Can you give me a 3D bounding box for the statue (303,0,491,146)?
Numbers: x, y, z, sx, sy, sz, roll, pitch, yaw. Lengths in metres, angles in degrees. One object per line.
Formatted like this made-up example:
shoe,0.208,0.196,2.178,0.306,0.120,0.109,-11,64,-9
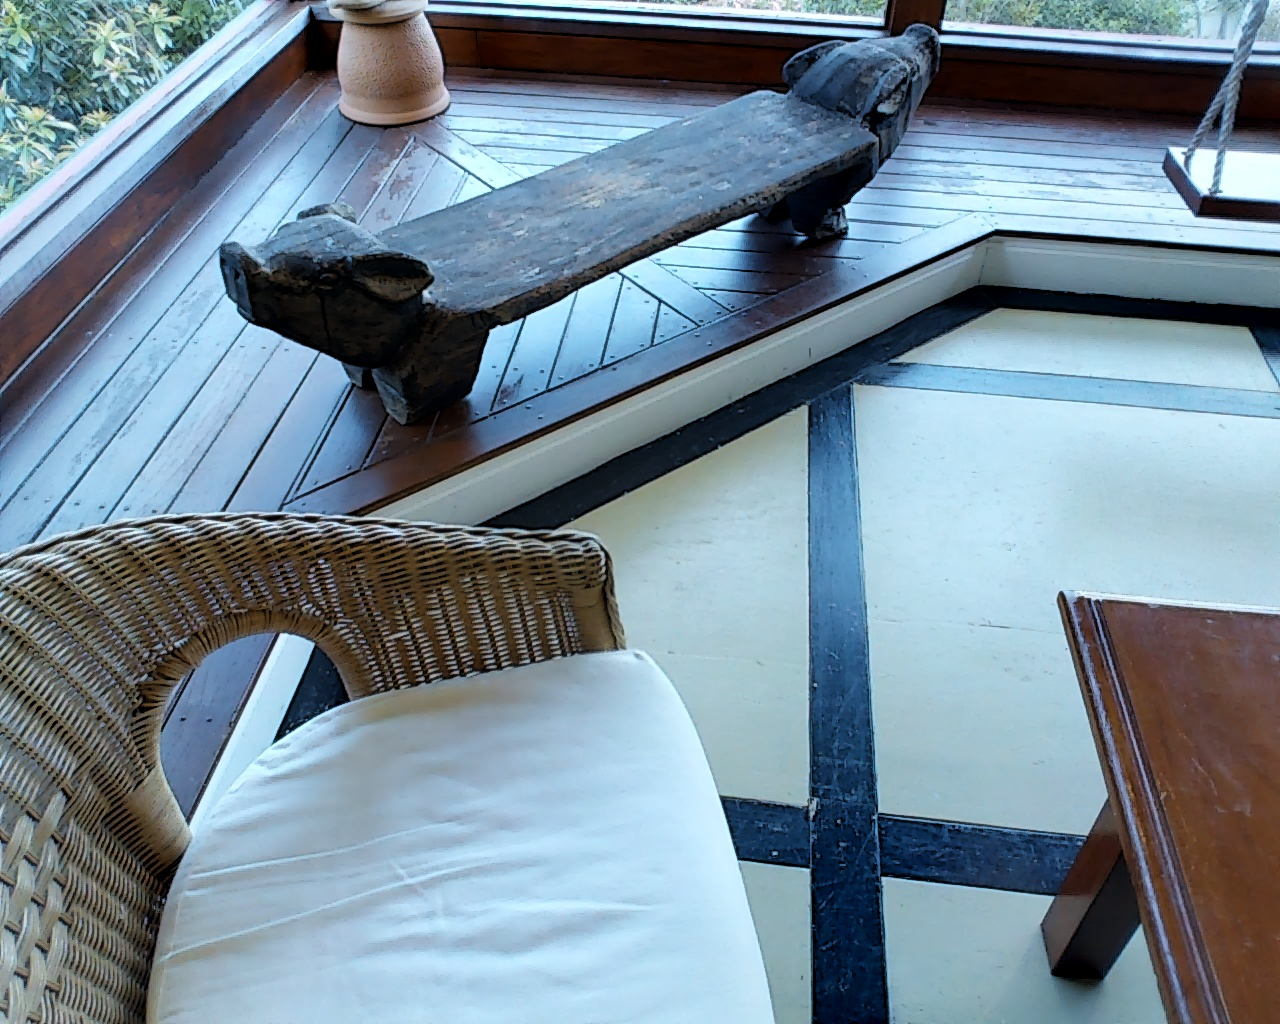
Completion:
statue,-0.620,-1.340,2.660,0.370,0.710,0.250,-27,49,-28
